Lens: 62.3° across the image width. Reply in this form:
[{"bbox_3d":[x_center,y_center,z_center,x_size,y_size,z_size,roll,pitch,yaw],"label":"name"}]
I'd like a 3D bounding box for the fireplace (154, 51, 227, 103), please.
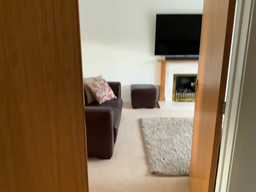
[{"bbox_3d":[1.260,-0.430,4.540,1.320,0.980,0.660,-1,16,-1],"label":"fireplace"}]

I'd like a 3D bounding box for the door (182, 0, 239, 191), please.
[{"bbox_3d":[0.560,-0.100,1.570,0.090,1.920,0.700,0,16,5],"label":"door"}]

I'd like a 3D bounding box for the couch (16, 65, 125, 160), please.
[{"bbox_3d":[-0.610,0.080,3.150,1.020,0.820,1.780,0,16,3],"label":"couch"}]
